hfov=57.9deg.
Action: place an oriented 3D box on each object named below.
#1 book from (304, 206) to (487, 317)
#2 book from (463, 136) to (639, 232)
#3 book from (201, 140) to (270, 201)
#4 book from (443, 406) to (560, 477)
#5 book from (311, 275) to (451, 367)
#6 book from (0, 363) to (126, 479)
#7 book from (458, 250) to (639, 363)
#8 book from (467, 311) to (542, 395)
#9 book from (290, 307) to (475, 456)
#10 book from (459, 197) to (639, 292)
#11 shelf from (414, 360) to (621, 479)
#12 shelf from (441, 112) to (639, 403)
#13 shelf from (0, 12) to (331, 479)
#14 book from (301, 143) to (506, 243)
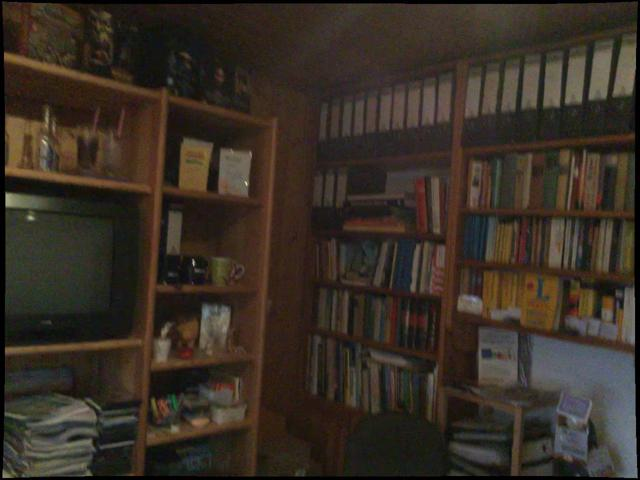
[{"bbox_3d":[0.330,0.080,2.720,0.340,0.380,0.770,4,5,-44],"label":"book"},{"bbox_3d":[0.849,-0.220,2.130,0.120,0.300,0.620,4,5,-44],"label":"book"},{"bbox_3d":[-0.330,-0.270,2.260,0.190,0.210,0.150,4,5,-44],"label":"book"},{"bbox_3d":[0.699,0.761,2.220,0.380,0.100,0.270,4,5,-44],"label":"book"},{"bbox_3d":[0.250,0.350,2.660,0.080,0.250,0.740,4,5,-44],"label":"book"},{"bbox_3d":[-0.919,0.601,1.900,0.360,0.230,0.450,4,5,-44],"label":"book"},{"bbox_3d":[0.849,0.220,2.130,0.190,0.270,0.630,4,5,-44],"label":"book"},{"bbox_3d":[0.749,0.450,2.350,0.180,0.280,0.190,4,5,-44],"label":"book"},{"bbox_3d":[0.260,0.621,2.730,0.280,0.420,0.840,4,5,-44],"label":"book"},{"bbox_3d":[0.849,0.000,2.110,0.140,0.250,0.670,4,5,-44],"label":"book"},{"bbox_3d":[0.679,1.111,2.180,0.410,1.151,0.550,4,5,-44],"label":"shelf"},{"bbox_3d":[0.919,0.020,2.120,0.310,0.901,0.780,4,5,-44],"label":"shelf"},{"bbox_3d":[-1.069,0.480,1.770,1.989,2.142,0.760,4,5,-44],"label":"shelf"},{"bbox_3d":[0.350,-0.240,2.710,0.310,0.370,0.920,4,5,-44],"label":"book"}]
